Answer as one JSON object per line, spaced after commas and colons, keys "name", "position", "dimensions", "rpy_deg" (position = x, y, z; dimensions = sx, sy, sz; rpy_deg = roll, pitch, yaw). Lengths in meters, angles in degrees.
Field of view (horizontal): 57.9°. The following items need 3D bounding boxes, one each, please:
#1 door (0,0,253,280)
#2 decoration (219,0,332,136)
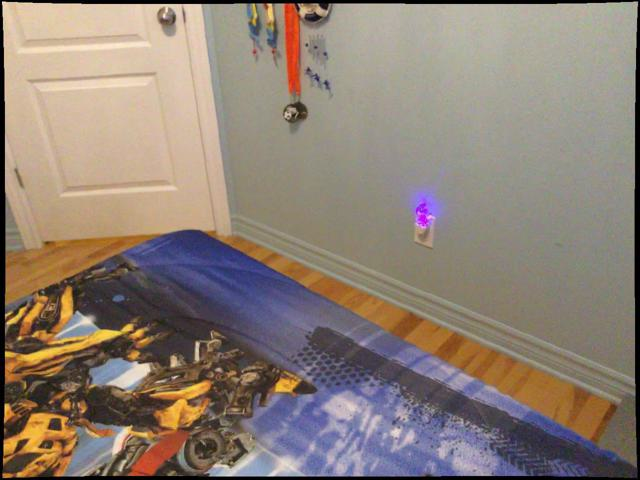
{"name": "door", "position": [-0.809, -0.811, 2.060], "dimensions": [0.909, 2.041, 0.250], "rpy_deg": [-7, 33, -6]}
{"name": "decoration", "position": [-0.160, -0.701, 1.930], "dimensions": [0.460, 0.630, 0.040], "rpy_deg": [23, 41, 35]}
